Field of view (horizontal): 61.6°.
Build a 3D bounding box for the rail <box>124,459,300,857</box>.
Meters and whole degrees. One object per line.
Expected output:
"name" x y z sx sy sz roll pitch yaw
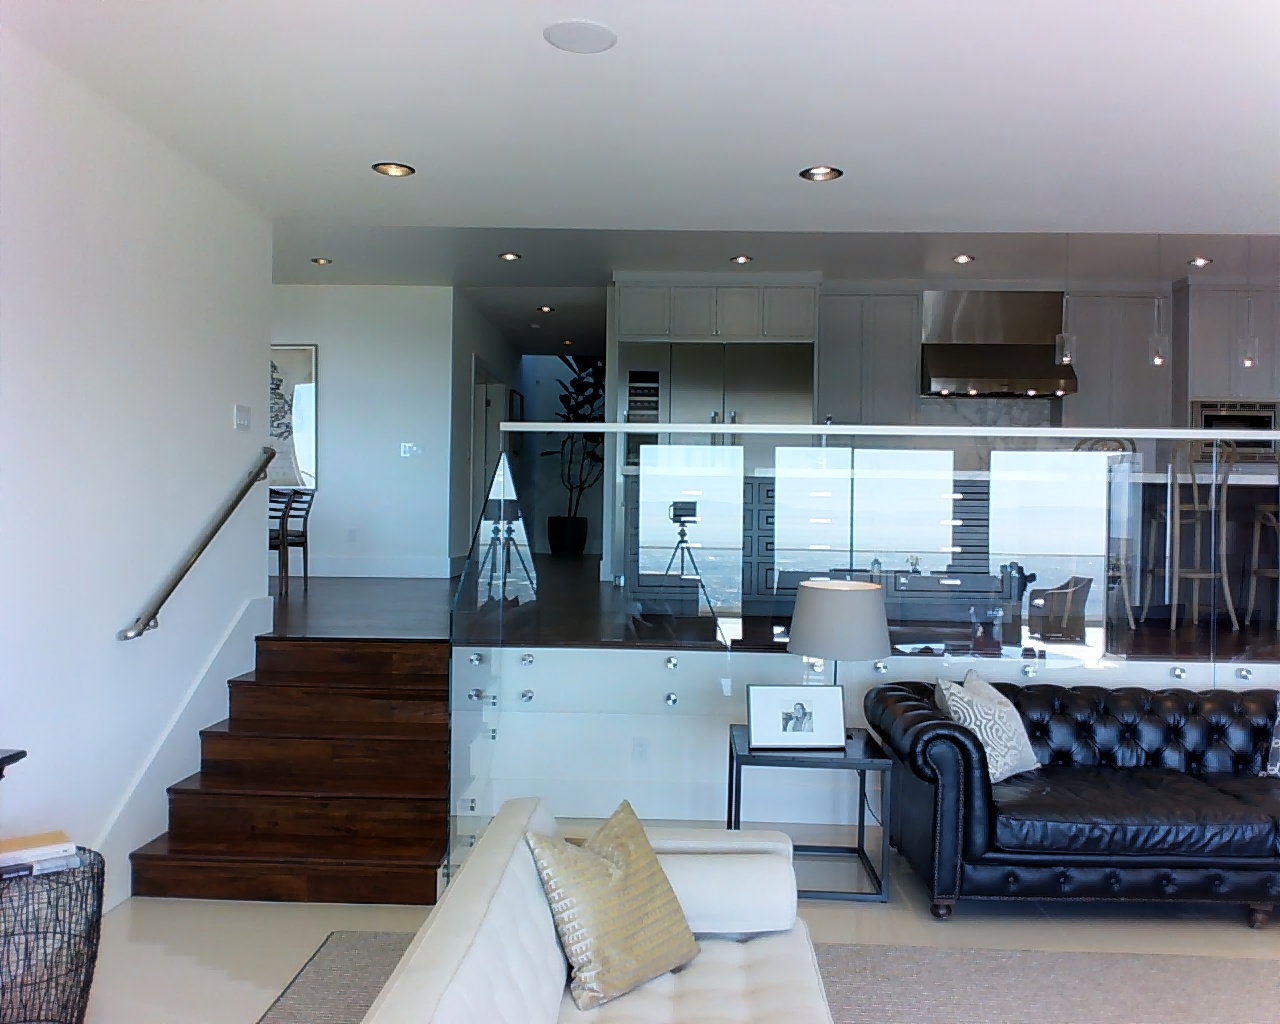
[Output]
"rail" -1.890 0.560 4.890 0.140 1.540 1.460 1 0 2
